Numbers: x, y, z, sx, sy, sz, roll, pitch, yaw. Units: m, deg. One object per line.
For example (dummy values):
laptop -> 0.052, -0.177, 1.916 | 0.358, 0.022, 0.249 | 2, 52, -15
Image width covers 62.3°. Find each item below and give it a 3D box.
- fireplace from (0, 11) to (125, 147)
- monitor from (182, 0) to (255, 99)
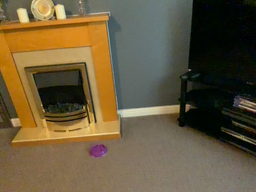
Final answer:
fireplace -> -0.630, -0.110, 1.820 | 1.110, 1.020, 0.340 | -5, 29, 0
monitor -> 0.850, -0.300, 1.430 | 1.000, 0.650, 0.080 | 22, 39, 38
